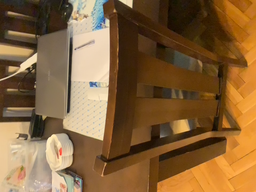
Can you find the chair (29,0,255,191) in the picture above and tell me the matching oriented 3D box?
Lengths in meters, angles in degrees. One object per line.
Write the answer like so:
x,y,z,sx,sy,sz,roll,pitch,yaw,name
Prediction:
0.170,-0.010,0.930,0.420,0.990,0.450,7,94,44,chair
